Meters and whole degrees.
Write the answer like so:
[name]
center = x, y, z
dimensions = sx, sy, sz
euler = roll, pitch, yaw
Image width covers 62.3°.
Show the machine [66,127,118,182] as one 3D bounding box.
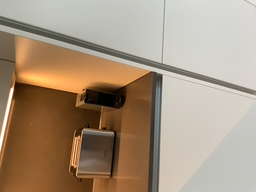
[machine]
center = -0.210, 0.330, 1.210
dimensions = 0.280, 0.190, 0.260
euler = -24, 59, 61
